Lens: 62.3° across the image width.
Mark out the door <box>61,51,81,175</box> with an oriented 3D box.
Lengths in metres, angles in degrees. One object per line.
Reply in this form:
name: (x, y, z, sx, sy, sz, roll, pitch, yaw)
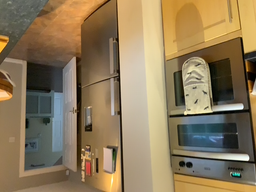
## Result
door: (-1.090, 0.310, 3.950, 0.120, 2.050, 0.950, 2, 171, -29)
